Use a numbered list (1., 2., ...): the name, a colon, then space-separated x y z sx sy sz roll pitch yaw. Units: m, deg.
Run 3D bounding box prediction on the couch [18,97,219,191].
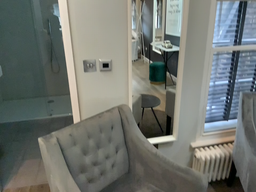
1. couch: -0.030 0.610 1.210 0.700 0.900 0.700 18 29 39
